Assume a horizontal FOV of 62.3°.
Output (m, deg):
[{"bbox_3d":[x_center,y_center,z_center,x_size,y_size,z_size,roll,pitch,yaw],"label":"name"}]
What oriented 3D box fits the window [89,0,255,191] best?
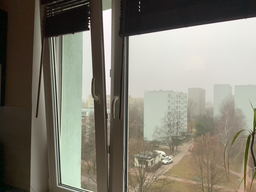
[{"bbox_3d":[0.230,-0.010,1.020,0.850,1.460,0.210,0,-2,27],"label":"window"}]
